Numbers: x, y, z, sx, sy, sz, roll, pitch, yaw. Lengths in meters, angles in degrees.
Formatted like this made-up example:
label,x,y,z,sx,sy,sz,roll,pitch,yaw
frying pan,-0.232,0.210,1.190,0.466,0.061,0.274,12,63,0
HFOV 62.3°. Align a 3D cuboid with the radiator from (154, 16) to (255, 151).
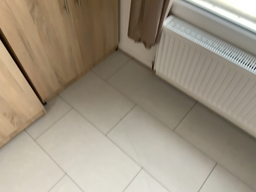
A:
label,x,y,z,sx,sy,sz,roll,pitch,yaw
radiator,0.610,0.020,1.190,1.040,0.550,0.070,36,64,21
